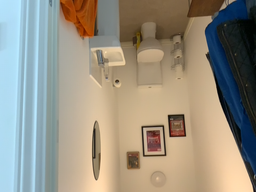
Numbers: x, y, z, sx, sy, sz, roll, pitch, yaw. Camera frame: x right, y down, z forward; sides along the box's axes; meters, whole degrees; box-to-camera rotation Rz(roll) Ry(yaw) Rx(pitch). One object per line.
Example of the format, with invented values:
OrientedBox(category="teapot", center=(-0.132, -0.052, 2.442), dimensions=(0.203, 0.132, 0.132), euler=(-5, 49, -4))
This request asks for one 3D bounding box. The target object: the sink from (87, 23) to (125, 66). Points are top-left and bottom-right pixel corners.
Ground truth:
OrientedBox(category="sink", center=(-0.170, -0.420, 1.840), dimensions=(0.240, 0.170, 0.490), euler=(-4, 171, 3))
